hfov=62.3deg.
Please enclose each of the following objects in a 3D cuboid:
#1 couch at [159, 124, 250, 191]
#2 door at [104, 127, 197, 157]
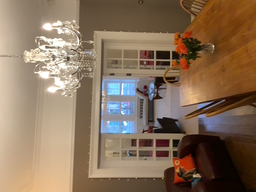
[{"bbox_3d":[1.020,1.120,3.220,1.060,0.830,0.880,-92,5,-51],"label":"couch"},{"bbox_3d":[0.450,0.920,4.260,0.150,1.850,0.580,120,151,-82],"label":"door"}]
